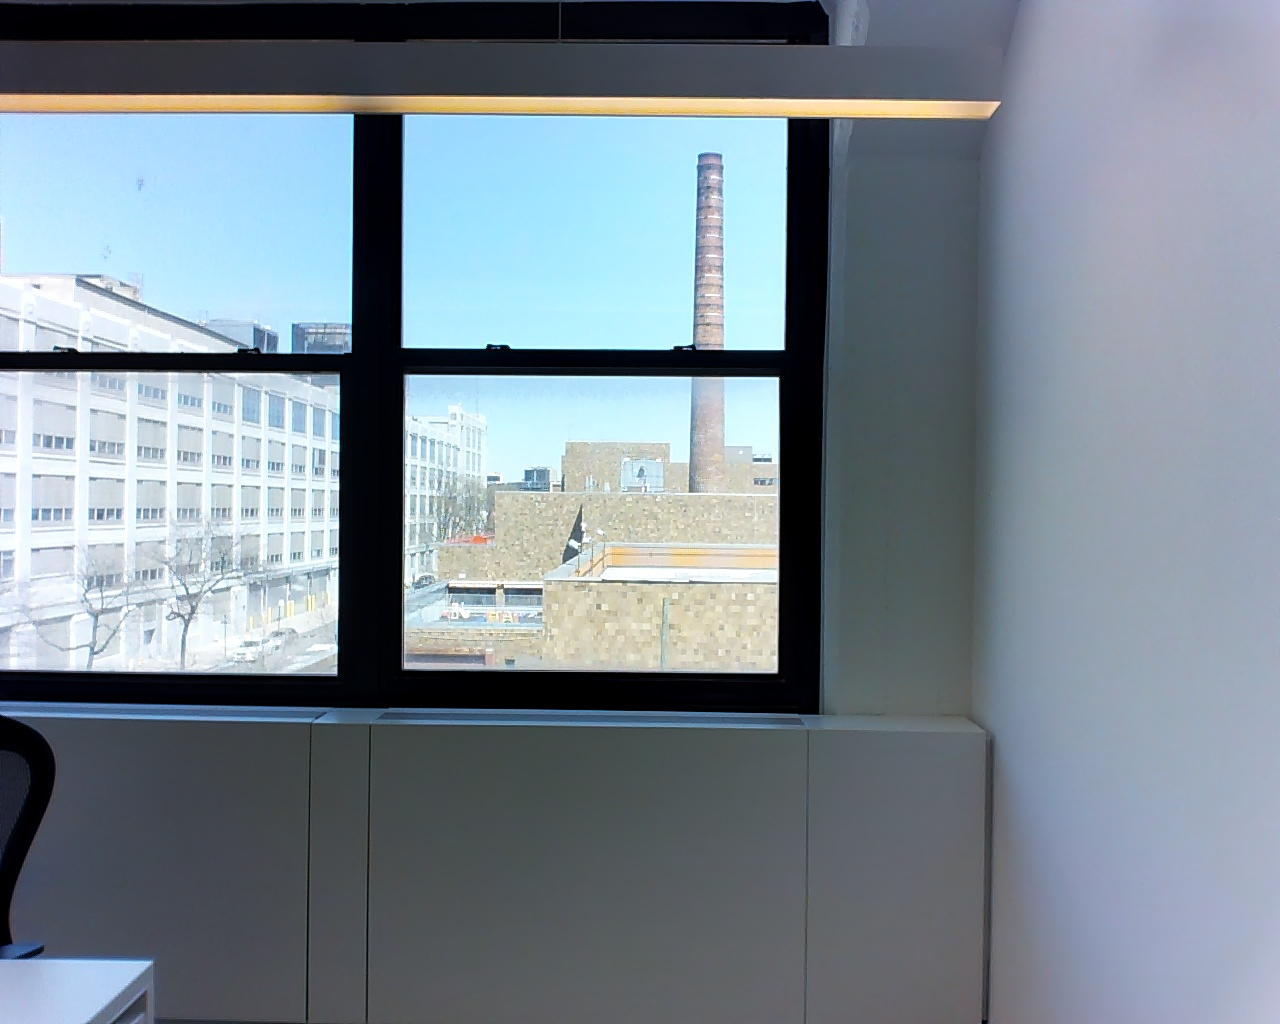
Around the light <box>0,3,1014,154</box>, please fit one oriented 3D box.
[{"bbox_3d":[-0.540,-0.830,2.060,2.449,0.210,0.170,1,0,1],"label":"light"}]
